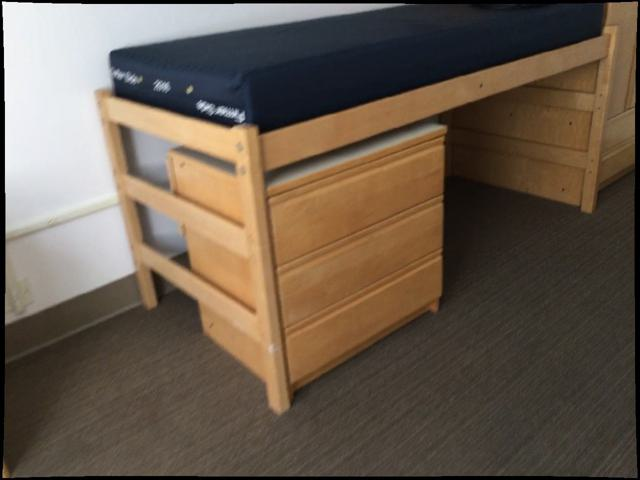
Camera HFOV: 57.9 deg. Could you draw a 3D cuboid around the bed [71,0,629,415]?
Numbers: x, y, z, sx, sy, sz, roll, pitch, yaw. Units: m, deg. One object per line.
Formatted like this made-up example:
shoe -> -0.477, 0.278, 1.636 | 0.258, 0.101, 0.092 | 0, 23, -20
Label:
bed -> 0.290, -0.440, 2.550 | 2.139, 1.061, 1.030 | -25, 32, -34
